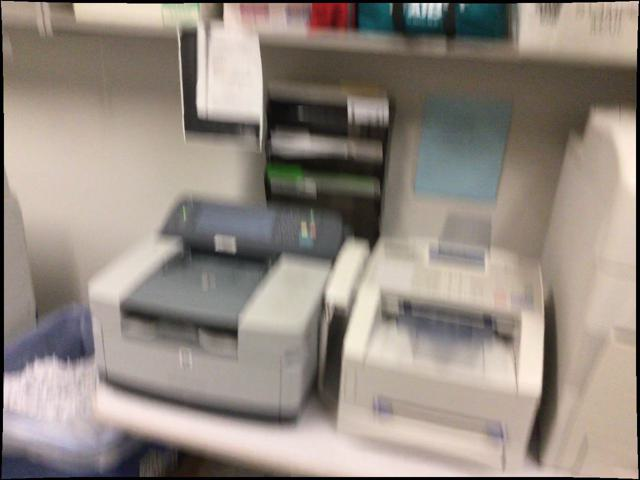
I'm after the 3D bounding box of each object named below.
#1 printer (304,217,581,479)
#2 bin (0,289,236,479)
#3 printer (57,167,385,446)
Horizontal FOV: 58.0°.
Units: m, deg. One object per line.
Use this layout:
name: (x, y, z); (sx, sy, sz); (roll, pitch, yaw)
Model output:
printer: (0.229, 0.190, 1.170); (0.439, 0.321, 0.360); (7, 24, 11)
bin: (-0.638, 0.571, 1.650); (0.619, 0.581, 0.570); (7, 24, 11)
printer: (-0.170, 0.100, 1.330); (0.549, 0.351, 0.530); (7, 24, 11)
